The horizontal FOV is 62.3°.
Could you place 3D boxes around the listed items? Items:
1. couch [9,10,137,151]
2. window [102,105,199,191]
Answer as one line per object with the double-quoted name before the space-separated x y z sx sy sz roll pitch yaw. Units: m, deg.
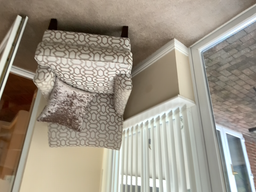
"couch" -0.390 -0.060 1.980 0.800 0.890 0.960 4 152 -6
"window" 0.110 0.960 1.850 0.040 1.530 1.170 22 146 -35
